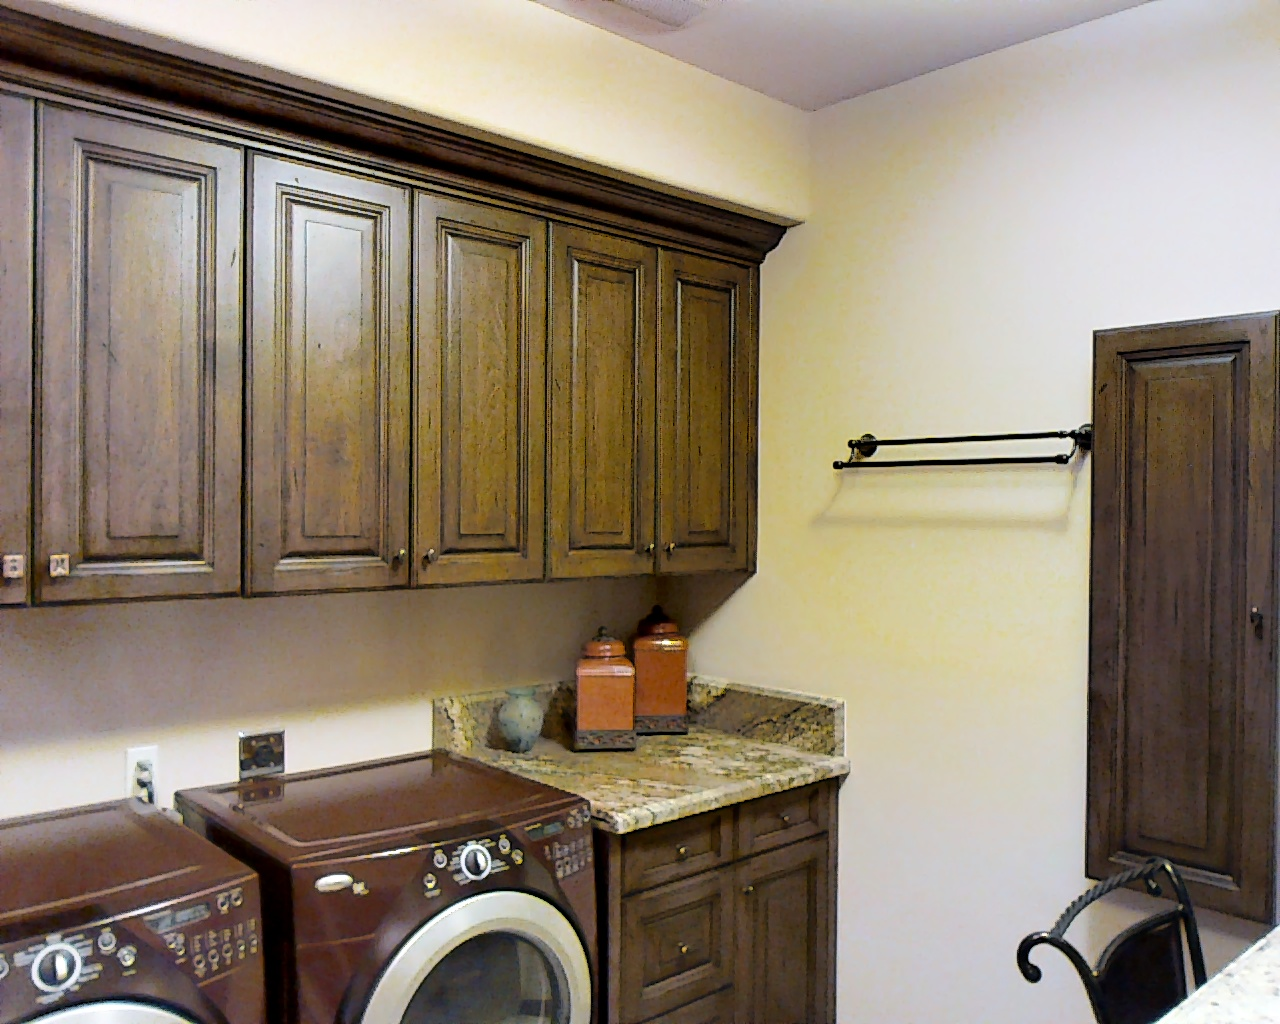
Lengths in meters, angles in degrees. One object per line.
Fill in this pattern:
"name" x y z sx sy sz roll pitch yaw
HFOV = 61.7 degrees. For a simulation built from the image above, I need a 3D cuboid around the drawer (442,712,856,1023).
"drawer" 0.030 1.110 2.900 0.860 0.920 0.720 0 1 -44
